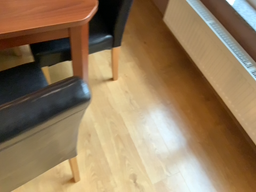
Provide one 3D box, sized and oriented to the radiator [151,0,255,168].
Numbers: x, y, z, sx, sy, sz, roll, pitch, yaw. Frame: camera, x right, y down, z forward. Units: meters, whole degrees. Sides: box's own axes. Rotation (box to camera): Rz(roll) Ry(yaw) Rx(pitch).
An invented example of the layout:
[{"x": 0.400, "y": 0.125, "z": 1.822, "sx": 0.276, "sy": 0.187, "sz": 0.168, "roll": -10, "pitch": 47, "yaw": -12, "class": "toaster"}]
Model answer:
[{"x": 0.690, "y": -0.050, "z": 1.350, "sx": 0.160, "sy": 0.370, "sz": 1.820, "roll": -17, "pitch": 64, "yaw": -21, "class": "radiator"}]
